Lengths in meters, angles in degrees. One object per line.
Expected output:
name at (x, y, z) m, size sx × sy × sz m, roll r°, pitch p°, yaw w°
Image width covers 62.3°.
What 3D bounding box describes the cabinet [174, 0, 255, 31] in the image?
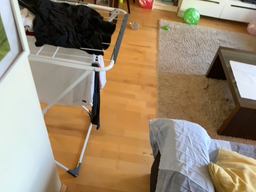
cabinet at (1.390, -1.440, 3.180) m, size 1.250 × 0.540 × 0.460 m, roll 10°, pitch 46°, yaw -1°
